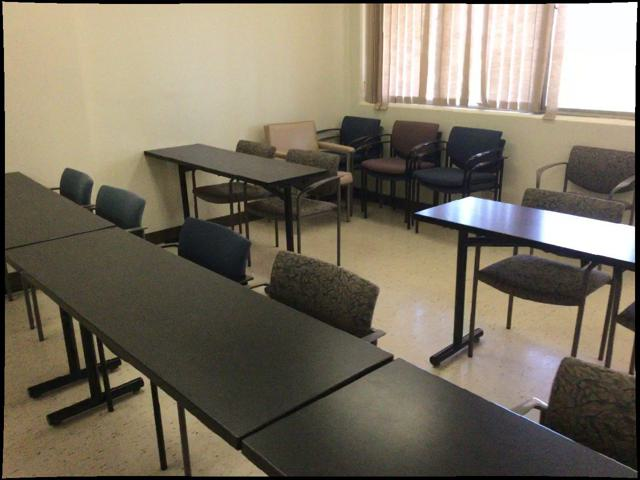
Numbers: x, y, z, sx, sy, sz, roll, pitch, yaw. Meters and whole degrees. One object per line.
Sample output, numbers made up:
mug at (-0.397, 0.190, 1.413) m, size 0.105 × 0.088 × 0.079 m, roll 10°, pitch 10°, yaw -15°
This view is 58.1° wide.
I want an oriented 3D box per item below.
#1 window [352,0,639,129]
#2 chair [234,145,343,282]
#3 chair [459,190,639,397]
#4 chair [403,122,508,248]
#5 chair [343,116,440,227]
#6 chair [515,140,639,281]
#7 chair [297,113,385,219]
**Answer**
window at (1.656, -1.394, 3.820) m, size 0.250 × 1.173 × 3.836 m, roll -19°, pitch 26°, yaw -38°
chair at (-0.199, -0.201, 3.880) m, size 0.499 × 0.752 × 0.479 m, roll 16°, pitch 27°, yaw 41°
chair at (1.037, 0.201, 2.630) m, size 0.579 × 0.672 × 0.519 m, roll -20°, pitch 26°, yaw -39°
chair at (1.017, -0.441, 4.380) m, size 0.579 × 0.782 × 0.500 m, roll -18°, pitch 25°, yaw -37°
chair at (0.588, -0.592, 4.770) m, size 0.499 × 0.752 × 0.599 m, roll -19°, pitch 26°, yaw -38°
chair at (1.676, -0.221, 3.750) m, size 0.479 × 0.732 × 0.559 m, roll -19°, pitch 26°, yaw -38°
chair at (0.199, -0.692, 5.230) m, size 0.559 × 0.792 × 0.529 m, roll -21°, pitch 27°, yaw -37°
